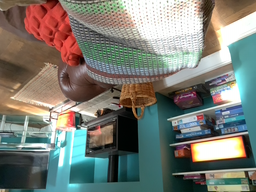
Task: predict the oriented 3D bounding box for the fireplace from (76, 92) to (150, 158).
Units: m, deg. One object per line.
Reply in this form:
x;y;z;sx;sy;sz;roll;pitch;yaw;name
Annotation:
-0.270;0.510;3.280;0.490;0.720;1.180;18;151;-37;fireplace

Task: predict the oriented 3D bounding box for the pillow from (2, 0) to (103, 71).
-0.330;-0.300;1.010;0.170;0.250;0.380;5;171;36;pillow
